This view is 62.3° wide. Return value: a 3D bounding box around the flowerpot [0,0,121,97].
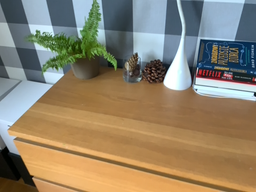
[{"bbox_3d":[-0.250,-0.210,0.870,0.390,0.320,0.230,6,37,10],"label":"flowerpot"}]
